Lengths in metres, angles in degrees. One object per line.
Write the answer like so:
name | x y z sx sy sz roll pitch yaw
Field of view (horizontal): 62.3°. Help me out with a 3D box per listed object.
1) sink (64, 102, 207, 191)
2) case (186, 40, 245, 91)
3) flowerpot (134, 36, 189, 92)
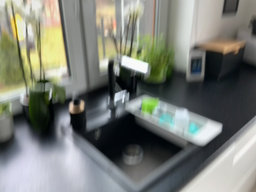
sink | 0.040 0.280 0.980 0.480 0.250 0.400 -23 34 -38
case | 0.670 -0.250 1.630 0.390 0.270 0.230 -22 33 -37
flowerpot | 0.240 -0.240 1.520 0.360 0.300 0.180 -21 32 -36
